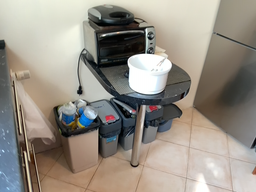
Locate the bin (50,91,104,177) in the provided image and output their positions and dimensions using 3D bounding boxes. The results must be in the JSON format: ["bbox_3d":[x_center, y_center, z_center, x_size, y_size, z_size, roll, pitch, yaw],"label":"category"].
[{"bbox_3d":[-0.360,0.270,1.530,0.270,0.480,0.290,-14,37,-26],"label":"bin"}]
